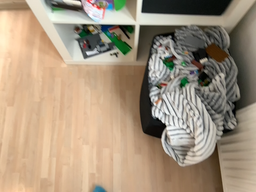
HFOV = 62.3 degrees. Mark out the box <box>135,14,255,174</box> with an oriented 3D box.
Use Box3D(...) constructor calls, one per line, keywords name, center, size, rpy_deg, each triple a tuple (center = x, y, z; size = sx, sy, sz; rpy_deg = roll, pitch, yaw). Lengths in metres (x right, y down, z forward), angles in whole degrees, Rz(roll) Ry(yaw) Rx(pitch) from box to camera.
Box3D(name="box", center=(0.230, 0.020, 0.970), size=(0.340, 0.430, 0.590), rpy_deg=(-2, 73, -2))
